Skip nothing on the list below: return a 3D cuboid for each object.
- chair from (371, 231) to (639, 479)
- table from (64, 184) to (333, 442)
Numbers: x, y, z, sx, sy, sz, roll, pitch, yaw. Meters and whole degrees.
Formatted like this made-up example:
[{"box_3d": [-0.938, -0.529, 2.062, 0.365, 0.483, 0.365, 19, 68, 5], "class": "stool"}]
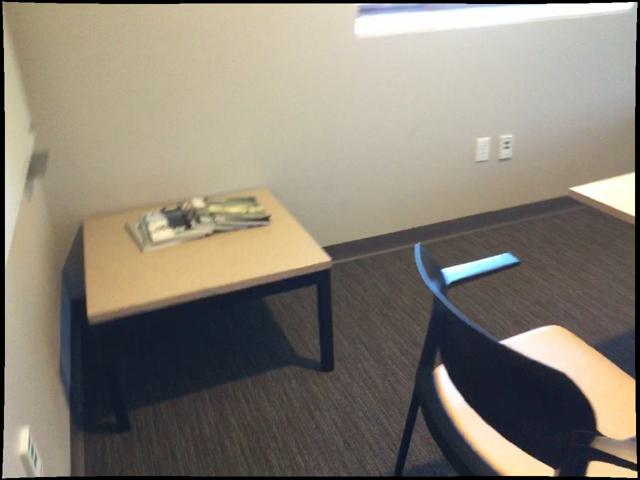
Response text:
[{"box_3d": [0.489, 0.451, 1.300, 0.509, 0.701, 0.610, -8, 26, -18], "class": "chair"}, {"box_3d": [-0.479, 0.201, 2.210, 0.818, 0.531, 0.780, -8, 26, -18], "class": "table"}]
